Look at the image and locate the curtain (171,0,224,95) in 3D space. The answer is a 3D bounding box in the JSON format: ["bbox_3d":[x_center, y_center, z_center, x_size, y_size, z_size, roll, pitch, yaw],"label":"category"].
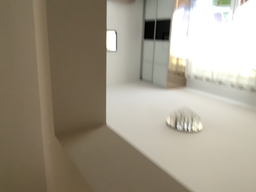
[{"bbox_3d":[1.440,-1.320,4.510,0.240,2.430,0.950,-8,-162,-32],"label":"curtain"}]

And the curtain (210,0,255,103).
[{"bbox_3d":[2.020,-1.090,3.660,0.350,2.250,0.800,-7,-162,-31],"label":"curtain"}]
